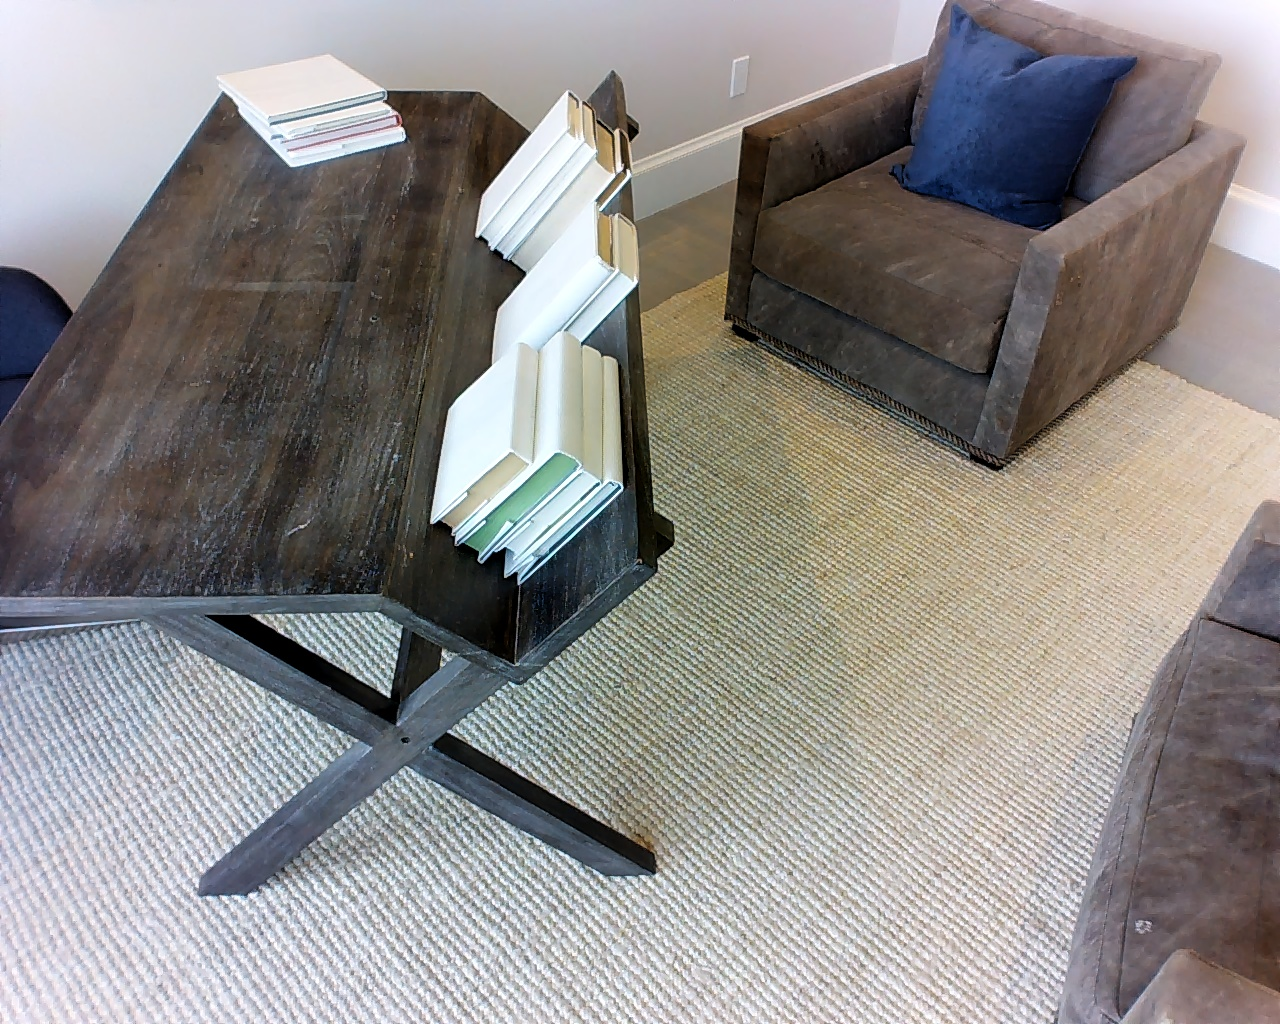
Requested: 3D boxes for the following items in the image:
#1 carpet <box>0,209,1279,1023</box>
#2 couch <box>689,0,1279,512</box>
[{"bbox_3d":[0.320,0.320,2.030,3.070,0.010,2.460,-31,51,-31],"label":"carpet"},{"bbox_3d":[0.820,-0.760,2.670,0.930,0.820,1.000,33,51,30],"label":"couch"}]
